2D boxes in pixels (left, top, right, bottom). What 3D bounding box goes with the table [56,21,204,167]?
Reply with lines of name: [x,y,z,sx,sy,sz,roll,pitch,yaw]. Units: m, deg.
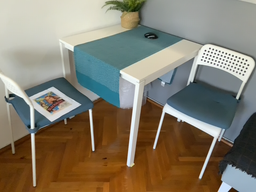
table: [0.000,-0.100,1.770,0.780,0.730,0.770,31,41,31]

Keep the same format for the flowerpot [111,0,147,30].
flowerpot: [0.010,-0.750,1.800,0.190,0.280,0.220,32,43,32]
